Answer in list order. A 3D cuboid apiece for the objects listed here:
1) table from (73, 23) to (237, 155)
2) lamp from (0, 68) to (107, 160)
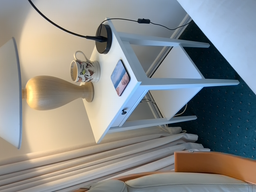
[{"bbox_3d":[0.120,-0.030,1.200,0.380,0.670,0.520,63,140,31],"label":"table"},{"bbox_3d":[-0.410,0.070,0.940,0.270,0.510,0.270,-57,48,42],"label":"lamp"}]
